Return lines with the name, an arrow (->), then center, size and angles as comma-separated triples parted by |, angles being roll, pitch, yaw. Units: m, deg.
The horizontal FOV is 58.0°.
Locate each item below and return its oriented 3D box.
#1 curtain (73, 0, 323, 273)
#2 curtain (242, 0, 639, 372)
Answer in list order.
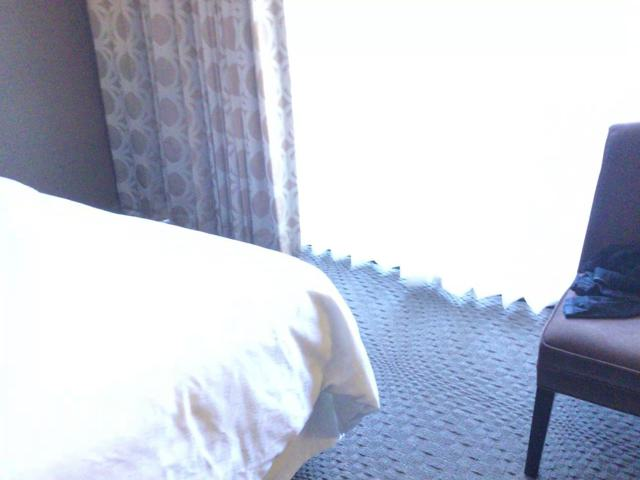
curtain -> -0.620, -0.990, 2.790 | 1.190, 2.130, 0.360 | 13, 29, 29
curtain -> 0.490, -0.670, 2.180 | 1.630, 2.000, 0.390 | 13, 29, 29
